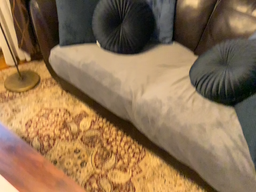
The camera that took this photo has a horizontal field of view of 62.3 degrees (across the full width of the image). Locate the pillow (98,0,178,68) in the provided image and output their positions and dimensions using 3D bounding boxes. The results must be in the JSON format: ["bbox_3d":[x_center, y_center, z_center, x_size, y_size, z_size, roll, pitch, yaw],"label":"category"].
[{"bbox_3d":[0.060,-0.430,1.360,0.420,0.280,0.250,-28,53,-29],"label":"pillow"}]
